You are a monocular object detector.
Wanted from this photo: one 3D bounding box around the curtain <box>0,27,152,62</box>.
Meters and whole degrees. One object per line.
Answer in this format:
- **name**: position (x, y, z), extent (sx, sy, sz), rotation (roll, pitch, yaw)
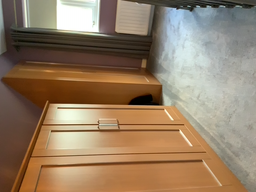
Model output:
- **curtain**: position (-0.760, -0.820, 3.440), extent (0.150, 2.320, 0.330), rotation (-115, 30, -64)
